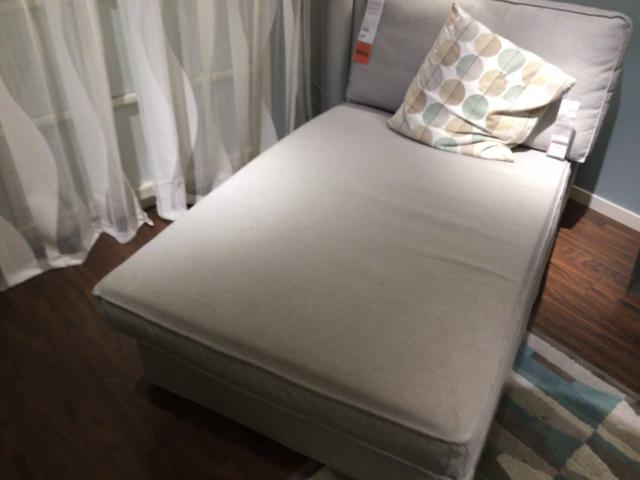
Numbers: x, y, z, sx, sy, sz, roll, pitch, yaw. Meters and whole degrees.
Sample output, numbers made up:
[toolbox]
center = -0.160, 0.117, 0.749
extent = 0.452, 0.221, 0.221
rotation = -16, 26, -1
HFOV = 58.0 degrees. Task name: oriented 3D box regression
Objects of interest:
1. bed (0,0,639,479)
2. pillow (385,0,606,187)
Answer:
[bed]
center = 0.190, -0.150, 1.710
extent = 1.070, 0.810, 1.560
rotation = 17, 39, 21
[pillow]
center = 0.540, -0.510, 1.880
extent = 0.390, 0.410, 0.490
rotation = -26, 43, -32
